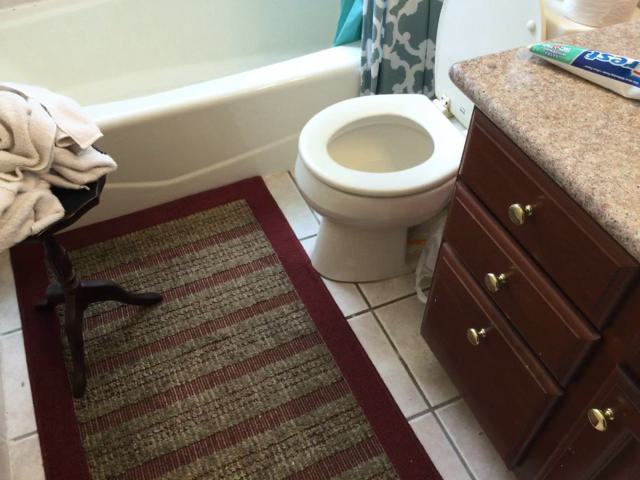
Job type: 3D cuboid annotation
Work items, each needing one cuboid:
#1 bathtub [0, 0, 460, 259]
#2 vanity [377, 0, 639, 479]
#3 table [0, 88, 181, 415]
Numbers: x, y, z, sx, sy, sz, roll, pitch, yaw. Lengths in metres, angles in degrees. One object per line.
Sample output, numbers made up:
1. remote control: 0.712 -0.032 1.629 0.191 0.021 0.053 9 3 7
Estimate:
1. bathtub: -0.400 -0.530 1.890 1.450 0.350 0.760 -18 51 -17
2. vanity: 0.590 0.160 0.920 0.600 0.890 0.830 -18 51 -17
3. table: -0.560 0.040 1.240 0.350 0.550 0.340 -18 51 -17
